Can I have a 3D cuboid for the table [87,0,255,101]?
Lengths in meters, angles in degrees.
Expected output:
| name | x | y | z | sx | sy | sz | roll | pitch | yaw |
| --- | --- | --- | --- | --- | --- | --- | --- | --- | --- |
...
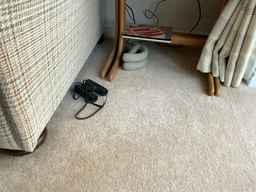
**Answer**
| name | x | y | z | sx | sy | sz | roll | pitch | yaw |
| --- | --- | --- | --- | --- | --- | --- | --- | --- | --- |
| table | 0.170 | -0.370 | 1.000 | 0.570 | 0.480 | 0.570 | 6 | 38 | 4 |
